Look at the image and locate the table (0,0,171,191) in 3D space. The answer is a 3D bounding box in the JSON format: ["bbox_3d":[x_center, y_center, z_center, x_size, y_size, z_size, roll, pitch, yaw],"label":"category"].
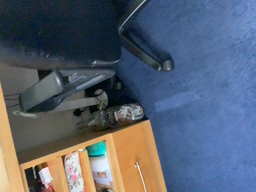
[{"bbox_3d":[-0.350,0.040,1.070,0.550,0.720,1.570,-15,88,45],"label":"table"}]
